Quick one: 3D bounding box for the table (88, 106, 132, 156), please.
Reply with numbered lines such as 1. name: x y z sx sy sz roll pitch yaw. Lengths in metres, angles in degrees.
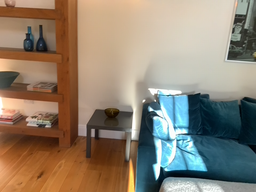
1. table: -0.240 0.470 2.940 0.550 0.510 0.410 4 17 2
